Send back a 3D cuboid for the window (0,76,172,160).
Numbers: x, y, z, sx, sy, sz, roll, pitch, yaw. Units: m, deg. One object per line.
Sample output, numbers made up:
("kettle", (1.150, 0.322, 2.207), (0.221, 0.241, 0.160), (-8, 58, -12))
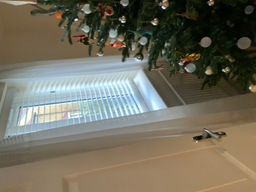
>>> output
("window", (-0.370, 0.100, 1.860), (0.810, 1.270, 0.040), (-117, 25, -51))
